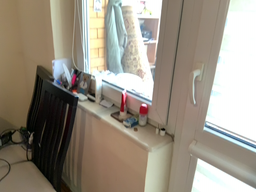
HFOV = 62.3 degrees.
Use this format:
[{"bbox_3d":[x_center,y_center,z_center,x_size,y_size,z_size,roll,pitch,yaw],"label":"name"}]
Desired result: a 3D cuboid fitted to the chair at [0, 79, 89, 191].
[{"bbox_3d":[-0.590,0.470,1.210,0.390,0.970,0.600,23,29,40],"label":"chair"}]
